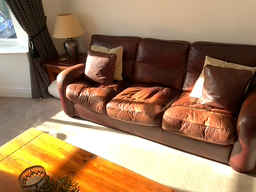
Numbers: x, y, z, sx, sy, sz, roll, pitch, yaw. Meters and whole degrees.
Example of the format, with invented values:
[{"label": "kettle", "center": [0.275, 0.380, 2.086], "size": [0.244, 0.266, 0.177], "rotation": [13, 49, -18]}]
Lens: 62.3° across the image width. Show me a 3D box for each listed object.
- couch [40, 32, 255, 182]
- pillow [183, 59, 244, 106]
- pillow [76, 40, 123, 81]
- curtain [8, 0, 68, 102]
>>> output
[{"label": "couch", "center": [0.260, -0.130, 2.430], "size": [2.220, 0.850, 1.050], "rotation": [13, 33, 29]}, {"label": "pillow", "center": [0.810, -0.130, 2.020], "size": [0.460, 0.370, 0.180], "rotation": [11, 1, 28]}, {"label": "pillow", "center": [-0.360, -0.450, 2.690], "size": [0.460, 0.430, 0.230], "rotation": [12, -2, 25]}, {"label": "curtain", "center": [-1.300, -1.090, 2.920], "size": [0.140, 2.410, 0.500], "rotation": [14, 33, 30]}]
